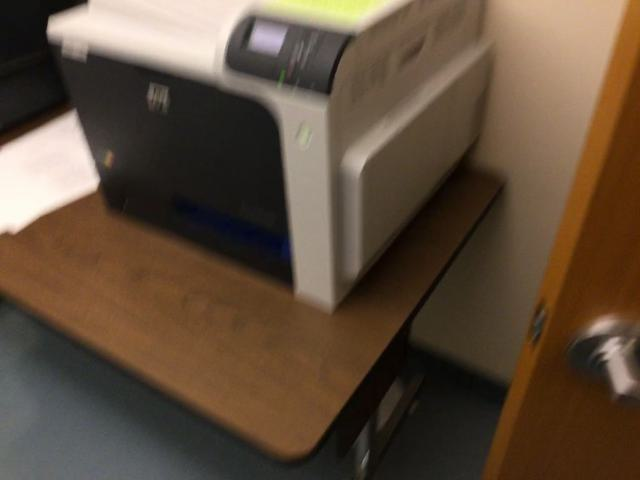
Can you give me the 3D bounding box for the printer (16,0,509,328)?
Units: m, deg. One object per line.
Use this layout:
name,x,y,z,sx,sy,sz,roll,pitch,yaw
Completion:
printer,-0.060,-0.270,1.000,0.570,0.420,0.520,21,45,25
